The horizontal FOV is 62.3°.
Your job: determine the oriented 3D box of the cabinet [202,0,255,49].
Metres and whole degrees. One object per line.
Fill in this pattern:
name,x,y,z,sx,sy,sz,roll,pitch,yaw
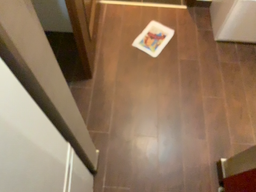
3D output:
cabinet,0.850,-0.690,1.450,0.420,0.620,0.410,2,63,-1
